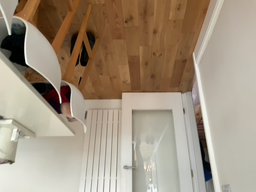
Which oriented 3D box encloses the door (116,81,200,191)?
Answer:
[{"bbox_3d":[0.330,0.770,2.520,0.890,2.050,0.200,-1,154,3],"label":"door"}]
